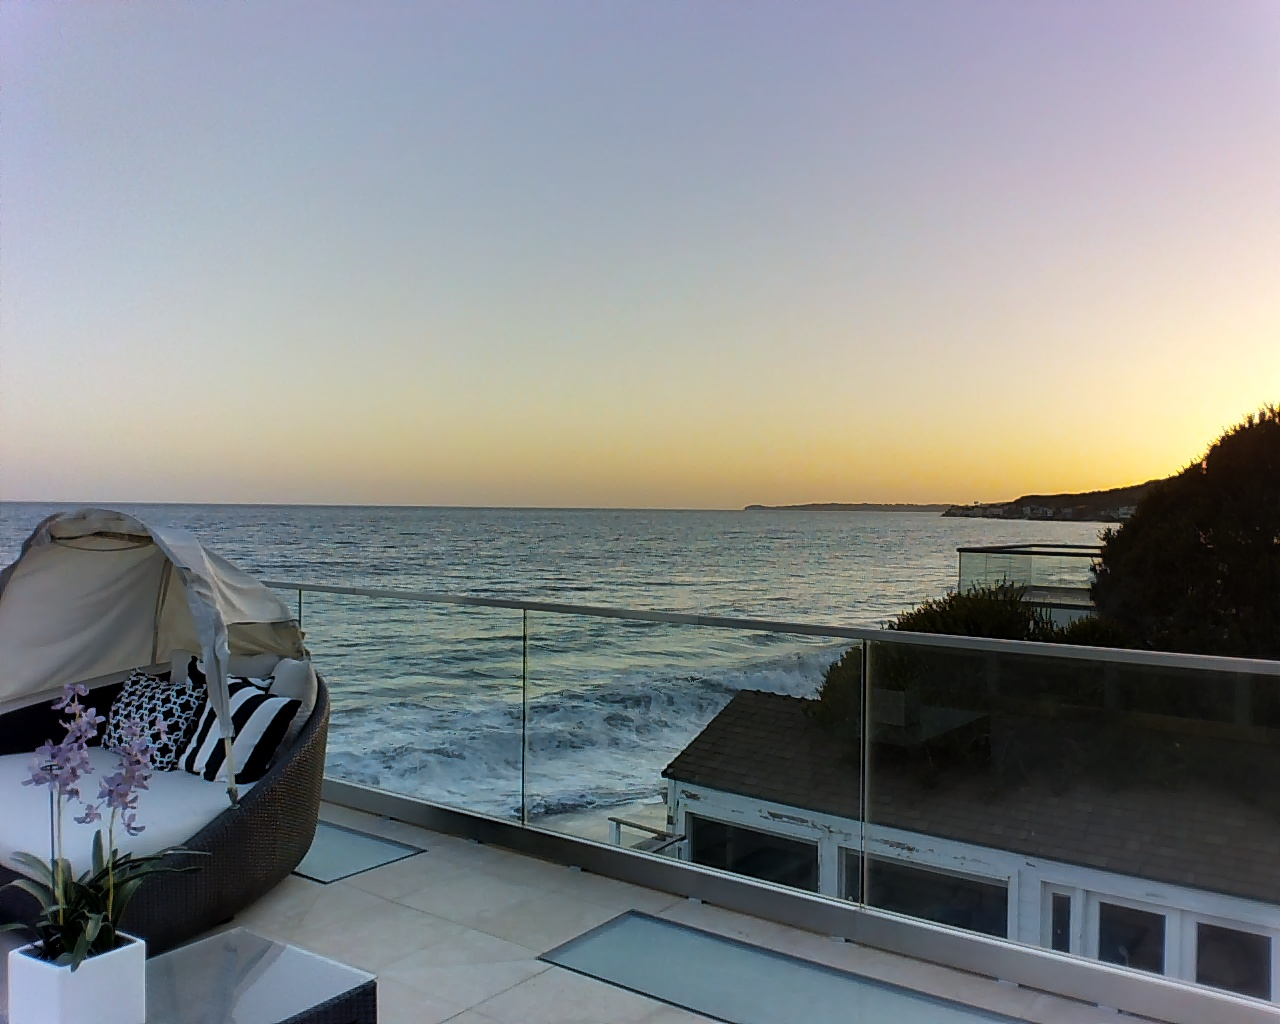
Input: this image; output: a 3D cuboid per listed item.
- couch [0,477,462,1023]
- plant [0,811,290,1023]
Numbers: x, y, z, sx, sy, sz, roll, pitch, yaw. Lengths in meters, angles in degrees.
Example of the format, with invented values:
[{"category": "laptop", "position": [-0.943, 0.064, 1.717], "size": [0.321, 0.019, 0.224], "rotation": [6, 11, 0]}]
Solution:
[{"category": "couch", "position": [-1.979, 0.720, 4.460], "size": [1.779, 1.661, 1.660], "rotation": [1, 0, 37]}, {"category": "plant", "position": [-1.259, 1.020, 2.580], "size": [0.620, 0.380, 0.530], "rotation": [1, 0, 36]}]
